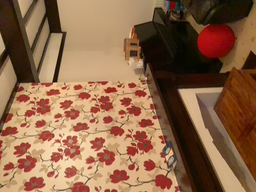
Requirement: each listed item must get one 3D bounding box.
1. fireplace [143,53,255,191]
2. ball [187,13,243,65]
[{"bbox_3d":[0.920,0.370,2.080,1.960,1.150,0.590,-101,12,-46],"label":"fireplace"},{"bbox_3d":[1.120,-0.760,2.830,0.470,0.400,0.510,-102,12,-49],"label":"ball"}]
